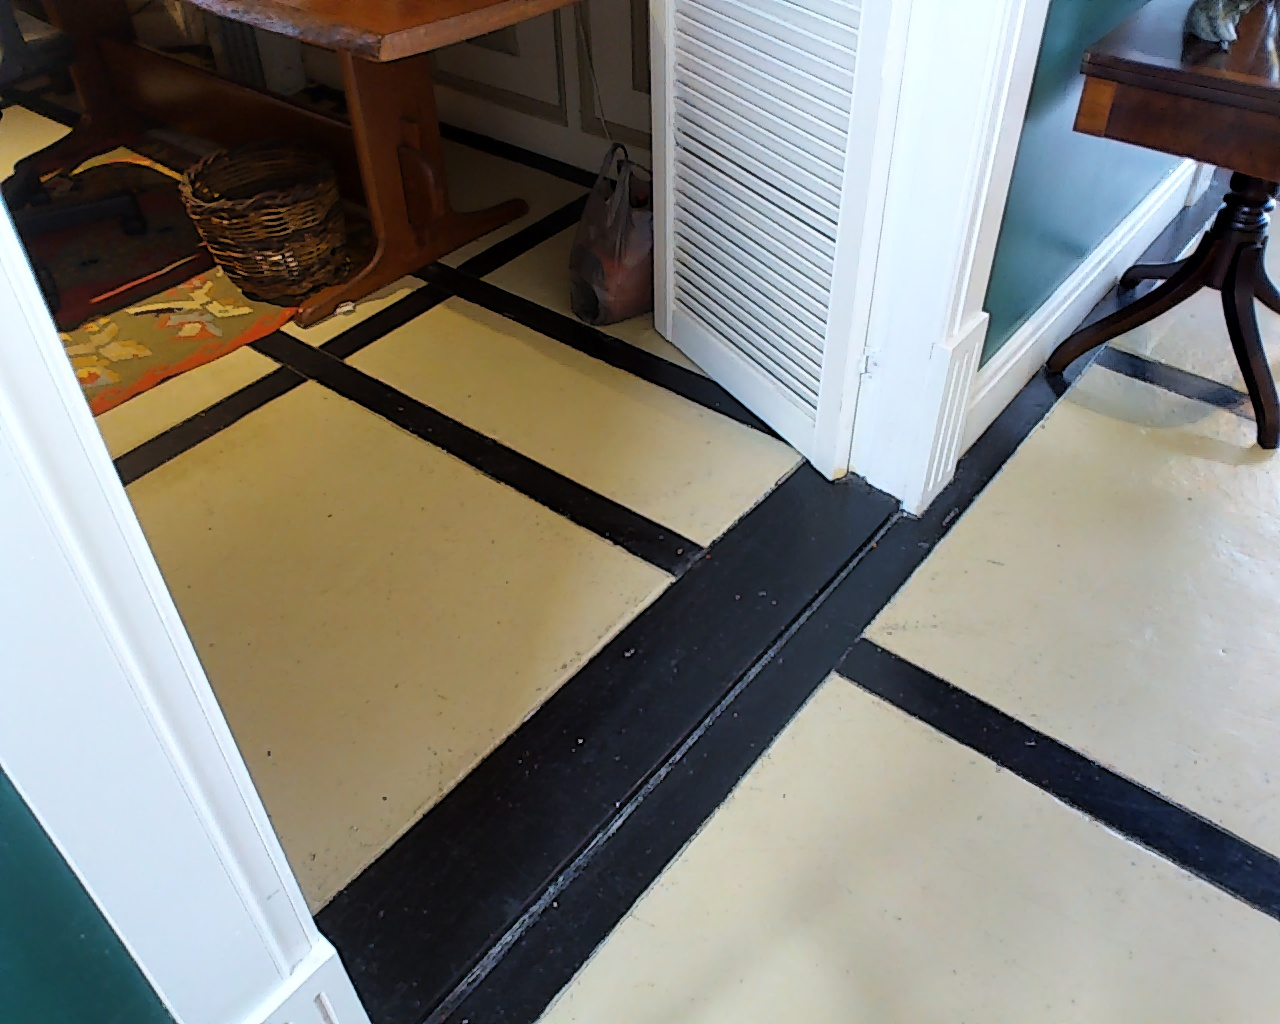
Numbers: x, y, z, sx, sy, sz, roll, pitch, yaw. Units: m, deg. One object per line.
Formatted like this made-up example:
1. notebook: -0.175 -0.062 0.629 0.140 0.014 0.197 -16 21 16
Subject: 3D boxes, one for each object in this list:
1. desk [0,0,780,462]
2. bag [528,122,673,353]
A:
1. desk: -0.990 -1.120 2.670 2.570 0.750 0.870 27 49 29
2. bag: -0.080 -0.590 2.310 0.150 0.380 0.290 -29 48 -28
